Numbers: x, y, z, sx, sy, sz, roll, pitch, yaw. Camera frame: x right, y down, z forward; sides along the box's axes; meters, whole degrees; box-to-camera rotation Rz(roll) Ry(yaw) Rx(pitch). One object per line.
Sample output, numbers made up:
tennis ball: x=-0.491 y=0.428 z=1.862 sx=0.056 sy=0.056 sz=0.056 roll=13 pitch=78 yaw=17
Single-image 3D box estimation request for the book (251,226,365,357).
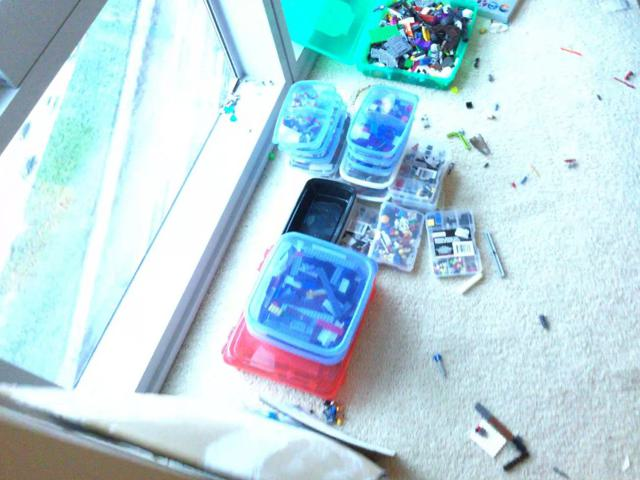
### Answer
book: x=-0.020 y=0.110 z=1.290 sx=0.190 sy=0.080 sz=0.260 roll=5 pitch=65 yaw=17
